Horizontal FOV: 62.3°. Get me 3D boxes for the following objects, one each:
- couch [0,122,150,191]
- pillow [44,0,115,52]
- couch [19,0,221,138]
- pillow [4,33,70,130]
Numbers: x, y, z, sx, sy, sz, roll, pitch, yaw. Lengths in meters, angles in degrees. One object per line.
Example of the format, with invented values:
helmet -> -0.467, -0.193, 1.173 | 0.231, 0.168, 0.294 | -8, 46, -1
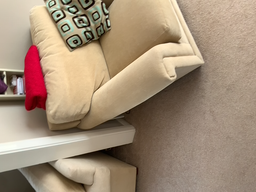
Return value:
couch -> -0.580, 0.870, 2.060 | 1.270, 0.880, 0.970 | 5, 94, 45
pillow -> -0.340, -0.650, 1.560 | 0.270, 0.430, 0.480 | 129, 147, -56
couch -> -0.140, -0.440, 1.610 | 0.930, 0.870, 1.170 | -31, 69, 41
pillow -> -0.720, -0.100, 1.620 | 0.460, 0.230, 0.530 | -45, 61, 36
